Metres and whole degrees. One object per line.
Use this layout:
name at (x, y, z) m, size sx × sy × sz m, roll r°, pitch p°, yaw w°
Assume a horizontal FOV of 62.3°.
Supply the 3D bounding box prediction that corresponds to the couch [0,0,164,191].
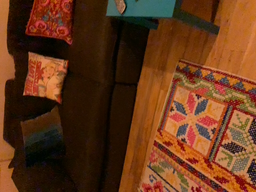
couch at (-0.460, -0.780, 1.850) m, size 1.290 × 0.790 × 3.530 m, roll 25°, pitch 109°, yaw 45°
